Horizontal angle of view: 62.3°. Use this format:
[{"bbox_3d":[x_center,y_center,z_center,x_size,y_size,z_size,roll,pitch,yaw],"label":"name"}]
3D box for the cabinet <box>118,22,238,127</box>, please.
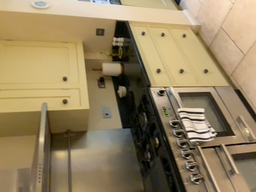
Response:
[{"bbox_3d":[0.430,-0.240,2.310,0.630,0.860,0.900,107,156,-47],"label":"cabinet"}]
